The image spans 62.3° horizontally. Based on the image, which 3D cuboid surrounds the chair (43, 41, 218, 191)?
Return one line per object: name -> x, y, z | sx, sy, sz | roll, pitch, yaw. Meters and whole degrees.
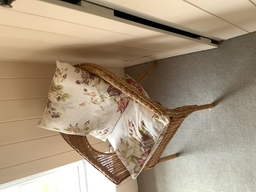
chair -> 0.010, 0.100, 1.380 | 0.600, 0.780, 0.600 | 43, 121, 33
